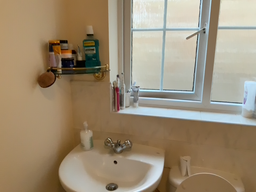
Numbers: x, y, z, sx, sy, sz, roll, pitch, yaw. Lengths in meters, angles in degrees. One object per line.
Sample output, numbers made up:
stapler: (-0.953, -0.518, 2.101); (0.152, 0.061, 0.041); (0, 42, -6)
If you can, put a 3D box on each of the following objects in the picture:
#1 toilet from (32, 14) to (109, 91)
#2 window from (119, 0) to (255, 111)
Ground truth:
toilet: (-0.270, -0.230, 1.100); (0.250, 0.330, 0.310); (5, 15, 14)
window: (0.520, -0.400, 1.270); (1.180, 0.950, 0.050); (5, 15, 15)
